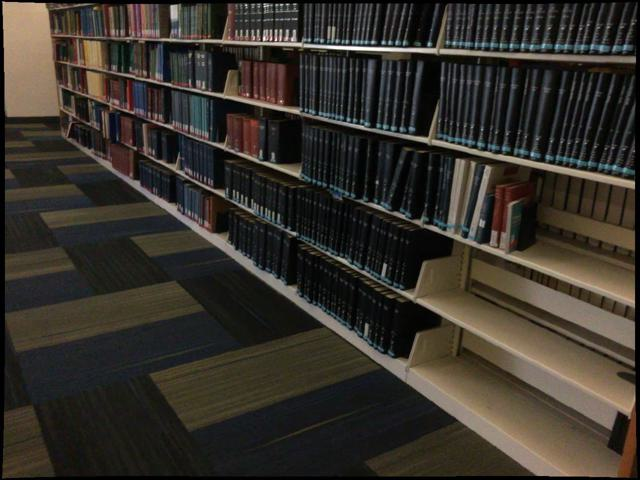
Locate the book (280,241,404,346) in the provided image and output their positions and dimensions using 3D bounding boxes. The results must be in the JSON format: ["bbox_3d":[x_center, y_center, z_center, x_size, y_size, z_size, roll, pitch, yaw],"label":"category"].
[{"bbox_3d":[0.070,0.231,2.810,0.090,0.190,0.889,-12,23,-32],"label":"book"}]

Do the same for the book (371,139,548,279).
[{"bbox_3d":[0.499,-0.150,2.220,0.230,0.361,0.650,-12,23,-32],"label":"book"}]

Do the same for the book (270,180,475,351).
[{"bbox_3d":[0.160,0.050,2.660,0.190,0.391,1.219,-12,23,-32],"label":"book"}]

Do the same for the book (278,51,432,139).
[{"bbox_3d":[0.110,-0.652,2.490,0.180,0.291,0.839,-12,23,-32],"label":"book"}]

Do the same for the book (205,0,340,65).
[{"bbox_3d":[-0.299,-1.113,3.040,0.120,0.311,1.199,-12,23,-32],"label":"book"}]

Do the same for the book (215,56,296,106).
[{"bbox_3d":[-0.389,-0.932,3.330,0.110,0.231,0.760,-12,23,-32],"label":"book"}]

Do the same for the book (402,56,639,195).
[{"bbox_3d":[0.638,-0.401,1.840,0.090,0.321,0.989,-12,23,-32],"label":"book"}]

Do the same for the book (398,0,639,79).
[{"bbox_3d":[0.618,-0.682,1.840,0.130,0.261,0.939,-12,23,-32],"label":"book"}]

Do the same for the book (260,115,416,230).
[{"bbox_3d":[0.040,-0.351,2.680,0.210,0.341,0.919,-12,23,-32],"label":"book"}]

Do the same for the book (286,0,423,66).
[{"bbox_3d":[0.110,-0.902,2.450,0.110,0.271,0.800,-12,23,-32],"label":"book"}]
